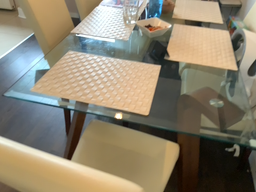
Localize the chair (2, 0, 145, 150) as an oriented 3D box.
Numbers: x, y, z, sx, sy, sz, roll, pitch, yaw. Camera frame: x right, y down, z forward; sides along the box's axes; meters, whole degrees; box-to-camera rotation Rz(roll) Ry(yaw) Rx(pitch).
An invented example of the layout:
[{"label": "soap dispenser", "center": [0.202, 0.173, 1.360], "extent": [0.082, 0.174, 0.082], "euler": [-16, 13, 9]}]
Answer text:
[{"label": "chair", "center": [-0.240, -0.180, 1.380], "extent": [0.590, 0.990, 0.470], "euler": [8, 41, 6]}]

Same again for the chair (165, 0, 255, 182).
[{"label": "chair", "center": [0.620, -0.030, 1.270], "extent": [0.570, 1.010, 0.480], "euler": [12, 42, 9]}]

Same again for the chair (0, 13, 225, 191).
[{"label": "chair", "center": [-0.050, 0.310, 0.830], "extent": [0.480, 1.000, 0.590], "euler": [13, 41, 12]}]

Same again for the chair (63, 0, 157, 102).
[{"label": "chair", "center": [-0.120, -0.520, 1.780], "extent": [0.590, 0.990, 0.450], "euler": [13, 42, 11]}]

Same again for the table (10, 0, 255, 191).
[{"label": "table", "center": [0.180, -0.210, 1.630], "extent": [0.920, 0.760, 1.730], "euler": [11, 42, 8]}]
